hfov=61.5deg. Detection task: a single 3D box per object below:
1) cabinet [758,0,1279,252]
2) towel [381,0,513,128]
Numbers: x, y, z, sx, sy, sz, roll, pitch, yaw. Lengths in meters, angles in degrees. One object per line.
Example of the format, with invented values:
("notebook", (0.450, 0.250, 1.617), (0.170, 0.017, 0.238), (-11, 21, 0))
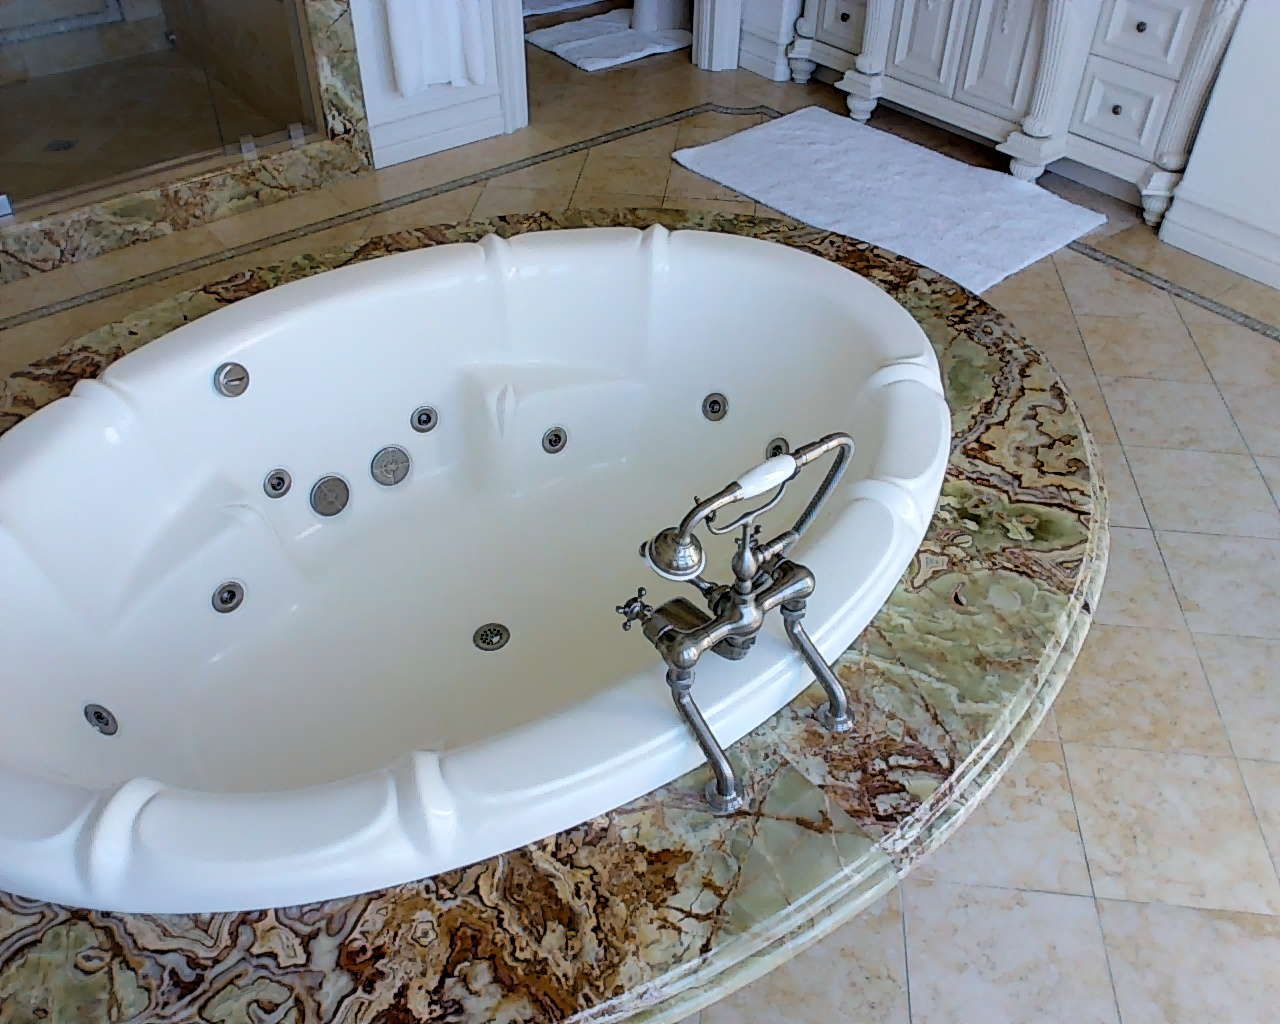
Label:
("cabinet", (1.330, -1.790, 3.750), (0.750, 0.970, 1.760), (-28, 49, -28))
("towel", (-0.640, -1.740, 3.450), (0.350, 0.880, 0.200), (-28, 49, -28))
